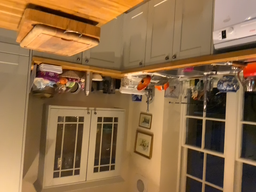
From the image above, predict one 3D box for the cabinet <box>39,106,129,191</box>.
[{"bbox_3d":[-0.550,0.650,2.810,1.050,0.970,0.330,5,178,-33],"label":"cabinet"}]
